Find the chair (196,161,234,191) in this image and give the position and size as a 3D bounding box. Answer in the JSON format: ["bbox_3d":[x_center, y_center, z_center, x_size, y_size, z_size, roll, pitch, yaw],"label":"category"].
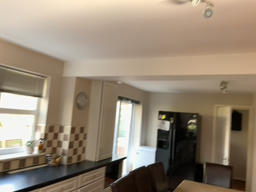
[{"bbox_3d":[1.240,1.500,3.020,0.440,0.970,0.580,2,-6,27],"label":"chair"}]

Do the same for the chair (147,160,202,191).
[{"bbox_3d":[0.600,1.430,2.810,0.590,0.970,0.420,1,-6,32],"label":"chair"}]
